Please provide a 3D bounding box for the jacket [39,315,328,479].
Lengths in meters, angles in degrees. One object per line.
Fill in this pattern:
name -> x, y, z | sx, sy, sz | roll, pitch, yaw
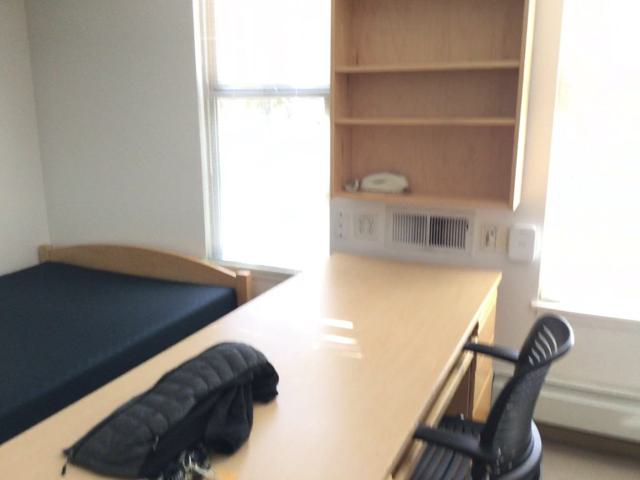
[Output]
jacket -> -0.260, 0.340, 1.290 | 0.340, 0.130, 0.560 | 6, 14, 27

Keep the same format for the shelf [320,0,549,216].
shelf -> 0.430, -0.700, 2.270 | 0.820, 1.130, 0.270 | 6, 14, 27
